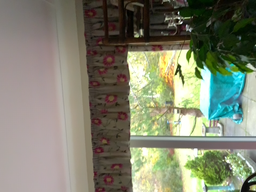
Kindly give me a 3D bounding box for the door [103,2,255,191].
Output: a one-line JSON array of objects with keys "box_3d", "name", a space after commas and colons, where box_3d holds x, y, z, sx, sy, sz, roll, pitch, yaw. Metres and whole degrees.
[{"box_3d": [0.880, 0.380, 2.140, 0.130, 2.190, 2.470, -67, -24, -80], "name": "door"}]
